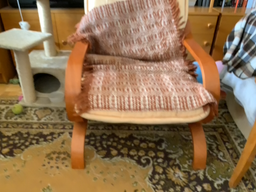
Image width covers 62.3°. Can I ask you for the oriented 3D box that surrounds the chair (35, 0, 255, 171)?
[{"bbox_3d":[0.040,-0.270,1.130,0.680,0.960,0.840,0,32,-4],"label":"chair"}]
